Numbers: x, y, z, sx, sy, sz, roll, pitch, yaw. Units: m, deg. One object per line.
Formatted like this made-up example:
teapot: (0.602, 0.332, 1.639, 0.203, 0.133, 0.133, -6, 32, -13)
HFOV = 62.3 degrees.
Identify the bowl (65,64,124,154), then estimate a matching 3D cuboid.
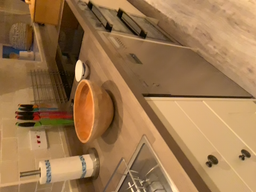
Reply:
bowl: (-0.160, 0.050, 0.900, 0.260, 0.120, 0.260, 58, 136, 42)
